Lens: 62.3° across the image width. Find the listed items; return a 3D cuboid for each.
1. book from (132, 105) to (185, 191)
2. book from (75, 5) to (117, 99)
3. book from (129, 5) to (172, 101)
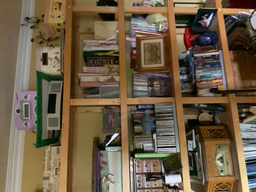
[{"bbox_3d":[0.200,0.440,1.560,0.370,0.280,0.670,105,163,-74],"label":"book"},{"bbox_3d":[-0.240,-0.340,1.680,0.260,0.290,0.680,108,161,-76],"label":"book"},{"bbox_3d":[0.160,-0.340,1.700,0.240,0.260,0.720,105,163,-74],"label":"book"}]
